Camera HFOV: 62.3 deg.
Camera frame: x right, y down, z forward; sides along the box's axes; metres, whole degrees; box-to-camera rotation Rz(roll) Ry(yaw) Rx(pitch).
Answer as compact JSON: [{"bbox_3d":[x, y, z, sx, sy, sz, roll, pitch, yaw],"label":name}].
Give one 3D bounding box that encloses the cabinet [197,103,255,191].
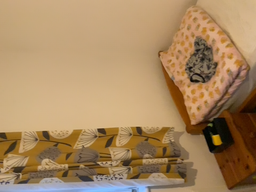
[{"bbox_3d":[0.870,0.350,1.480,0.380,0.510,0.470,102,163,-47],"label":"cabinet"}]
